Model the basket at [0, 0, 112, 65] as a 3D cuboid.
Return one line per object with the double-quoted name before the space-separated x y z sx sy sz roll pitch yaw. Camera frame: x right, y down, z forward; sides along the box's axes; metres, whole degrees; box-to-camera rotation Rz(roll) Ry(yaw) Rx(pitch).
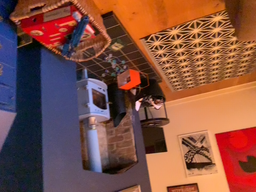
"basket" -0.410 -0.490 1.310 0.400 0.320 0.550 -14 162 16
